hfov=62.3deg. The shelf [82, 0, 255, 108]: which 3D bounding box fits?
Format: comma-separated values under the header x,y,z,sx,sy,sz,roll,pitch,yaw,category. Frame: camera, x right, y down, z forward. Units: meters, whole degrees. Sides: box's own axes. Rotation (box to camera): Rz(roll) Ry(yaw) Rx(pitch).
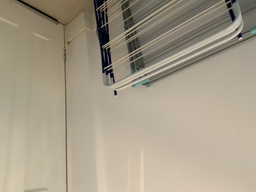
x,y,z,sx,sy,sz,roll,pitch,yaw,category
0.120,-0.430,1.020,0.810,0.740,0.190,-25,153,36,shelf
